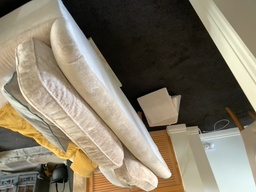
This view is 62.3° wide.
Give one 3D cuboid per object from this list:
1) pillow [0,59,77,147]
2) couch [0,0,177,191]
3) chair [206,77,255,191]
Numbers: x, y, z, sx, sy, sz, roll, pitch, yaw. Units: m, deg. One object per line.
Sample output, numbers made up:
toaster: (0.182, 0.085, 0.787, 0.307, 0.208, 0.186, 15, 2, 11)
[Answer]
pillow: (-0.540, 0.070, 1.220, 0.150, 0.290, 0.530, -35, 148, 0)
couch: (-0.410, 0.220, 1.690, 1.040, 0.910, 1.760, -19, 140, 13)
chair: (1.400, 0.440, 2.200, 0.530, 1.030, 0.640, 11, 137, -22)
